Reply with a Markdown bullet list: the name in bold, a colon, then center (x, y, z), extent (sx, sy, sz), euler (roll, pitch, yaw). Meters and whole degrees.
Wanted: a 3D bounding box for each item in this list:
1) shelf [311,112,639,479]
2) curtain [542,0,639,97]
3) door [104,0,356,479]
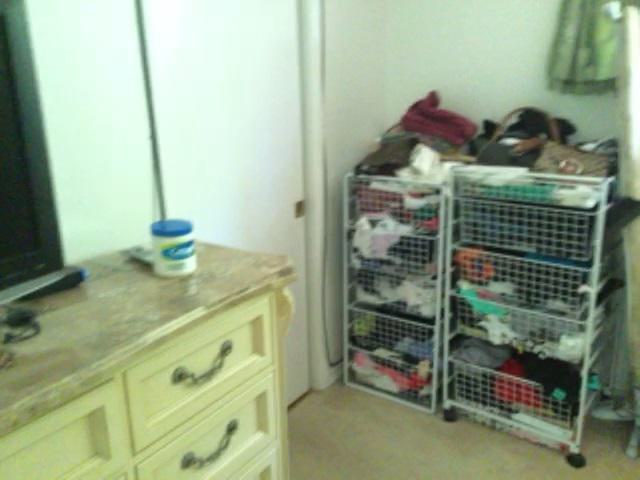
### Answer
- **shelf**: center (0.680, 0.120, 2.410), extent (1.230, 1.200, 0.630), euler (7, 17, 39)
- **curtain**: center (1.090, -0.830, 2.070), extent (0.480, 0.580, 0.260), euler (7, 17, 39)
- **door**: center (-0.250, -0.110, 2.150), extent (0.190, 1.910, 0.860), euler (7, 17, 39)
